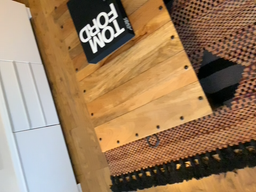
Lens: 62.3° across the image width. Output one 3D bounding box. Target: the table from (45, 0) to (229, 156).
[{"bbox_3d":[-0.050,-0.410,1.240,0.650,0.360,1.300,-28,77,31],"label":"table"}]
